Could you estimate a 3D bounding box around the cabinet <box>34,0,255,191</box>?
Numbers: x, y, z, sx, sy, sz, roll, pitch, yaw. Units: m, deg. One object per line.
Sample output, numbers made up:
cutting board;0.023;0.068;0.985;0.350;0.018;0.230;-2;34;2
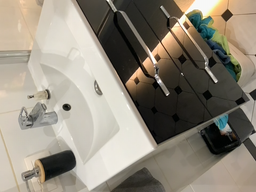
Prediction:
cabinet;0.040;-0.070;0.910;0.460;0.590;0.600;-48;64;43
